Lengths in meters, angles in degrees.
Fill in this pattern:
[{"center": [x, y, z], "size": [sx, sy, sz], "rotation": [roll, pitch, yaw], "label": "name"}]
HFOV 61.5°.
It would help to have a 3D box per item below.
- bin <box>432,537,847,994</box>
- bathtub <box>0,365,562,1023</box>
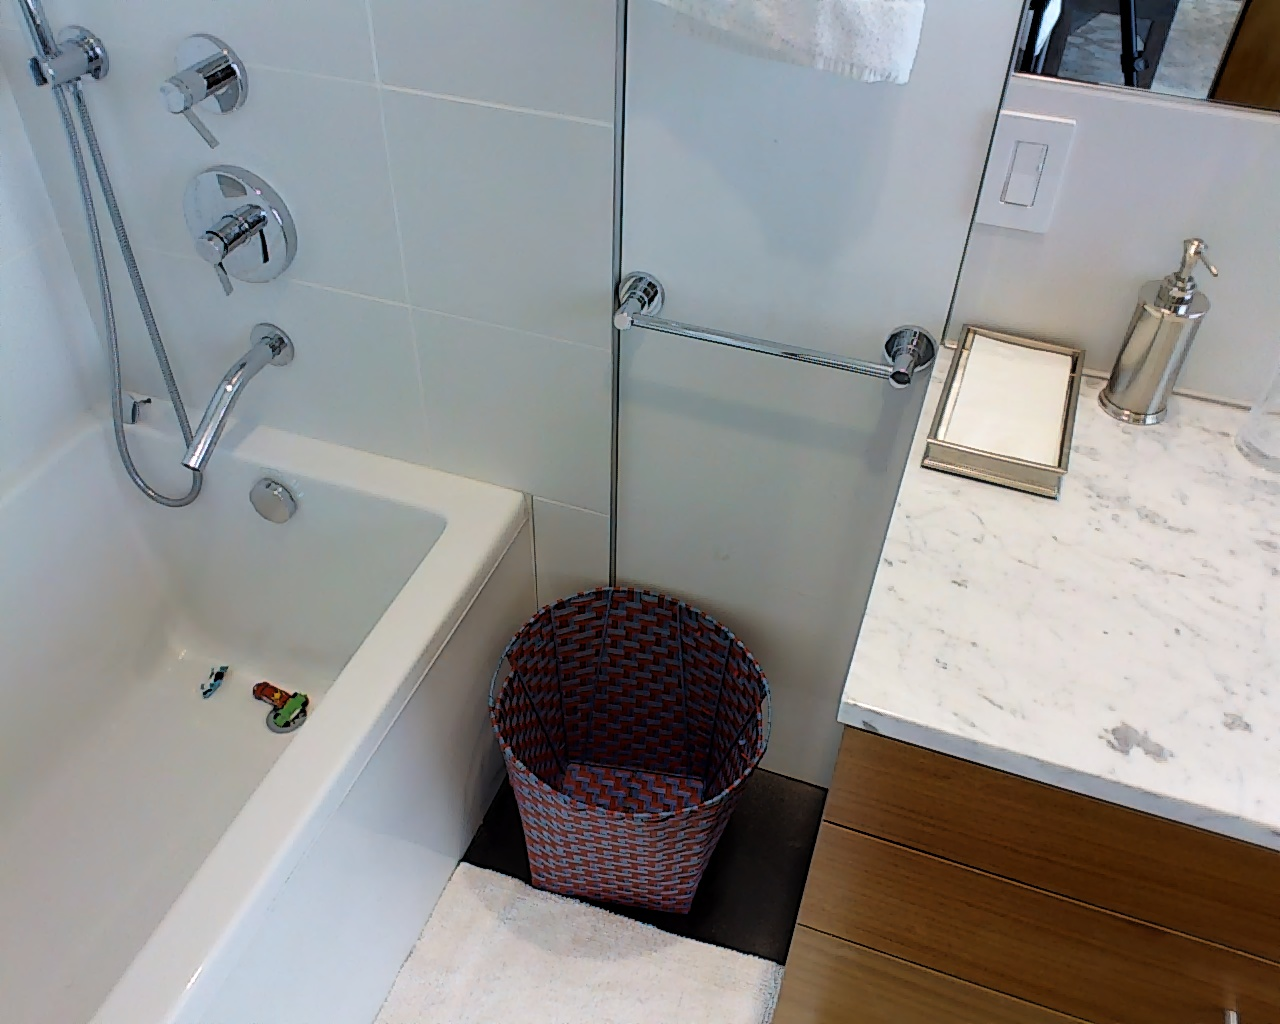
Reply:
[{"center": [0.010, 0.380, 1.670], "size": [0.480, 0.410, 0.410], "rotation": [15, 43, 14], "label": "bin"}, {"center": [-0.680, 0.360, 1.560], "size": [0.800, 0.550, 0.980], "rotation": [15, 43, 14], "label": "bathtub"}]
